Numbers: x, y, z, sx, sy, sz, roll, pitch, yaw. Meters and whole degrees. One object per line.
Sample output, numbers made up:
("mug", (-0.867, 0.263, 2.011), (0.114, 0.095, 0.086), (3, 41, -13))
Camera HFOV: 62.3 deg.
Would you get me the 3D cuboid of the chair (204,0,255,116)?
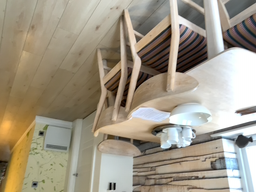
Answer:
("chair", (0.850, -0.370, 1.150), (0.530, 0.840, 0.550), (16, 152, -29))
